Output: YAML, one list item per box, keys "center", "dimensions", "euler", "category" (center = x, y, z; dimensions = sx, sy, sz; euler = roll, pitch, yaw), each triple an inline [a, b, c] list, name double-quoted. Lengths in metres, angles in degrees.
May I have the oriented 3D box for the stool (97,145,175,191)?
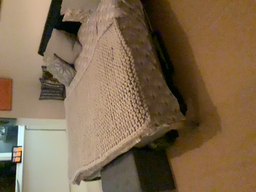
- center: [0.030, 0.820, 2.140]
  dimensions: [0.760, 0.400, 0.400]
  euler: [-47, 46, 48]
  category: "stool"
